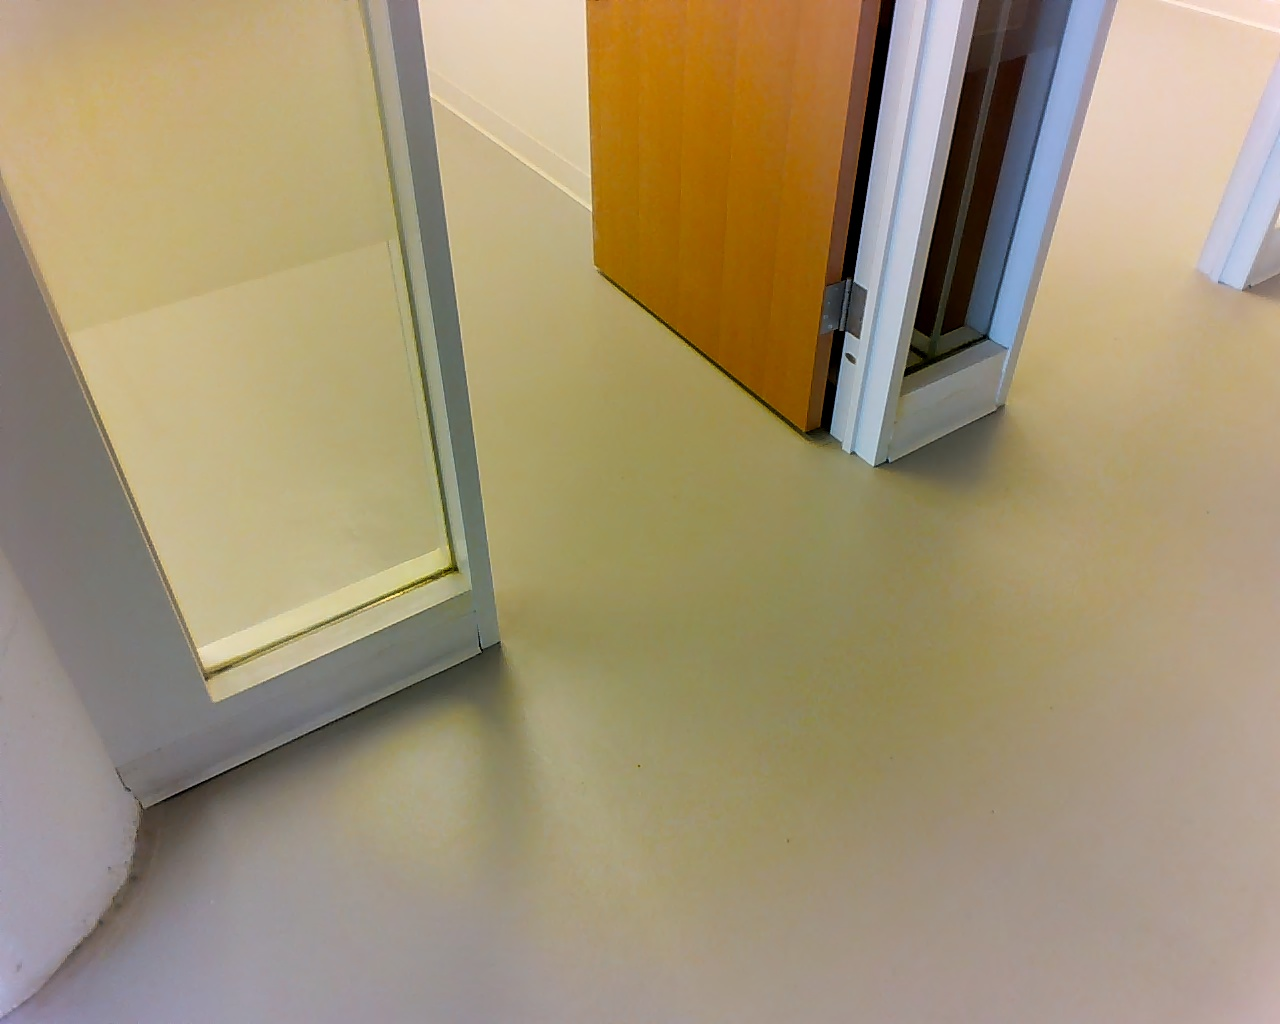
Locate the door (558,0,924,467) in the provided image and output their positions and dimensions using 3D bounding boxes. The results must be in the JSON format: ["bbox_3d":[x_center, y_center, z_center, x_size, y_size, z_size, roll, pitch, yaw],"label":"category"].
[{"bbox_3d":[0.130,-1.230,1.920,0.070,2.220,1.060,-24,47,-24],"label":"door"}]
